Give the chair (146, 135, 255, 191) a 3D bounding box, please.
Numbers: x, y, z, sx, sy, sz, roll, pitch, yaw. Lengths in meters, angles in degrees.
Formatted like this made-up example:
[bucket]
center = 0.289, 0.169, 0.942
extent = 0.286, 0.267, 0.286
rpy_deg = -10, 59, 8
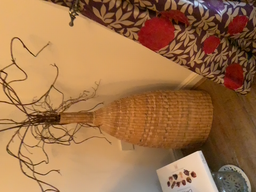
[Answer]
[chair]
center = 0.380, 0.440, 1.140
extent = 0.430, 0.330, 0.300
rpy_deg = -51, 44, 46
